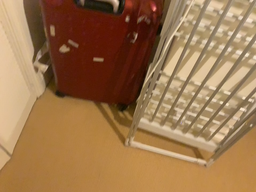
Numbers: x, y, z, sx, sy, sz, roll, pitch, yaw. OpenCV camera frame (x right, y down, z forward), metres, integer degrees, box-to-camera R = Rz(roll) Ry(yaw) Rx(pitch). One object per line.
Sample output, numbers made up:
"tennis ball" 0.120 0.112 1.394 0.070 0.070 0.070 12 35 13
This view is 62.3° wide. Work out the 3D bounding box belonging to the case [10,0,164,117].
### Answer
"case" -0.180 -0.300 1.150 0.580 0.760 0.370 17 56 1
